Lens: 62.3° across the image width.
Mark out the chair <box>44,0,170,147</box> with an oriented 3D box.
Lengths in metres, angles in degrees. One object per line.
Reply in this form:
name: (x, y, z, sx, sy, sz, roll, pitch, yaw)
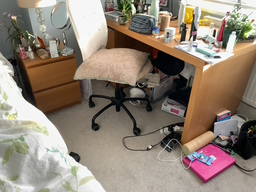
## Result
chair: (-0.120, -0.250, 1.690, 0.650, 1.010, 0.590, 14, 35, 17)
